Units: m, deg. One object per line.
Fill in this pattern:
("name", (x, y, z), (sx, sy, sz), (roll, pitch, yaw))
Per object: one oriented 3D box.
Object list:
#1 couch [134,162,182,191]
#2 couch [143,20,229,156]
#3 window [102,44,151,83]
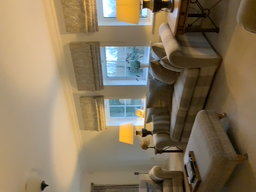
("couch", (0.650, 2.170, 4.910), (1.030, 0.920, 1.090), (96, 173, -65))
("couch", (0.790, -0.080, 3.710), (1.180, 0.810, 2.060), (-94, 4, -51))
("window", (-0.040, -0.630, 4.290), (0.060, 0.920, 0.860), (-94, 4, -51))
